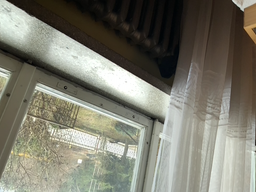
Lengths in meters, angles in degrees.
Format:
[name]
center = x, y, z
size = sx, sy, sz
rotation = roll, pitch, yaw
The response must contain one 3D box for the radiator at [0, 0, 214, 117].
[radiator]
center = -0.020, -0.530, 1.260
size = 1.490, 0.870, 0.280
rotation = 27, 155, -35
